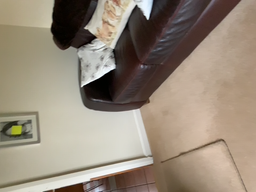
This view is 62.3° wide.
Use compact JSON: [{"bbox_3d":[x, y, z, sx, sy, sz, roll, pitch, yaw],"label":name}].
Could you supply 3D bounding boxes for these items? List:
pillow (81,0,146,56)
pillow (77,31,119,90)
[{"bbox_3d":[-0.140,-0.610,1.600,0.650,0.260,0.270,-50,50,55],"label":"pillow"},{"bbox_3d":[-0.290,-0.310,1.950,0.410,0.220,0.360,-45,54,57],"label":"pillow"}]
